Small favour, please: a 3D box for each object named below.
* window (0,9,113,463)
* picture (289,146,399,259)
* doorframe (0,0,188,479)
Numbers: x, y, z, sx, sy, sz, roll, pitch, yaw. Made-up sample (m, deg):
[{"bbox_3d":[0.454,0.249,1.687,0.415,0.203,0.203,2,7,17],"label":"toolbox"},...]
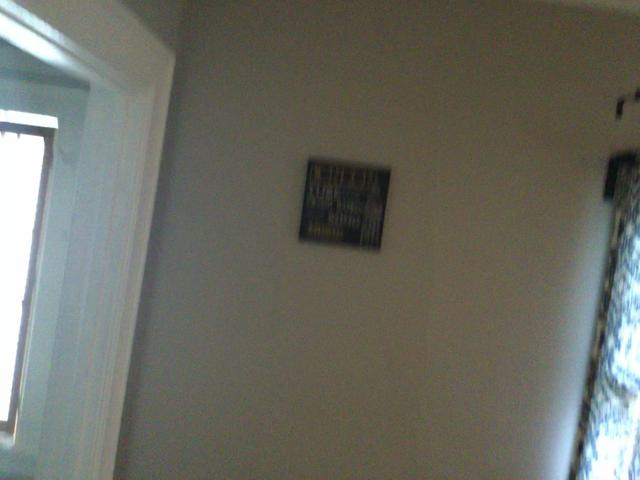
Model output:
[{"bbox_3d":[-1.020,-0.040,1.760,0.610,1.290,0.130,6,-1,9],"label":"window"},{"bbox_3d":[0.070,-0.110,1.710,0.290,0.300,0.040,6,-1,2],"label":"picture"},{"bbox_3d":[-0.660,0.490,1.240,0.240,2.170,1.020,6,-1,2],"label":"doorframe"}]
